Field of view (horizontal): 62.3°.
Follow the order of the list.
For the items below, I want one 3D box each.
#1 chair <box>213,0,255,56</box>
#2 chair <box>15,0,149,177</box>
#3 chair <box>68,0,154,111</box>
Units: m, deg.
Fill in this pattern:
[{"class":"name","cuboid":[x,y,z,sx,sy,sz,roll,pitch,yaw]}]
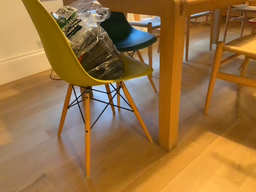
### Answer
[{"class":"chair","cuboid":[1.440,-0.950,2.440,0.500,0.790,0.580,-26,37,-36]},{"class":"chair","cuboid":[-0.190,-0.090,1.070,0.430,0.770,0.390,-21,34,-30]},{"class":"chair","cuboid":[-0.110,-0.360,1.590,0.400,0.730,0.440,-22,35,-31]}]
